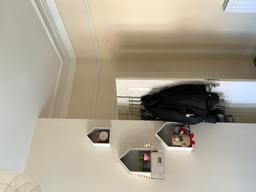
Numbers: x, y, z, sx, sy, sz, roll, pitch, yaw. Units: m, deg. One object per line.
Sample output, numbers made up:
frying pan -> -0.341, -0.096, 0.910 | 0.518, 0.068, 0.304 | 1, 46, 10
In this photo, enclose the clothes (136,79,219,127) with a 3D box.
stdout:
clothes -> 0.480, 0.100, 2.310 | 0.570, 0.760, 0.380 | 83, -171, -74
